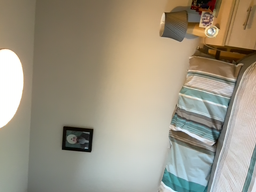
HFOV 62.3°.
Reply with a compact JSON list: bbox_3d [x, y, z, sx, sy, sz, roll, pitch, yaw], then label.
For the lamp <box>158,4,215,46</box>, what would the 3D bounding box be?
[{"bbox_3d":[0.480,-0.590,1.810,0.250,0.370,0.270,-93,12,-76],"label":"lamp"}]
